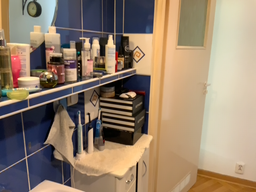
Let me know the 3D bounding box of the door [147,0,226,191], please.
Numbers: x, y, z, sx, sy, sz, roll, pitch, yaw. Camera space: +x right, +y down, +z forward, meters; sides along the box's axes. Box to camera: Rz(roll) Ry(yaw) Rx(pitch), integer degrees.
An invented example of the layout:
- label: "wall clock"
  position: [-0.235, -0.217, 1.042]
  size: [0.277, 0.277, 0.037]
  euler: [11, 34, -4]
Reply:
- label: "door"
  position: [0.530, 0.030, 1.850]
  size: [0.090, 1.990, 0.980]
  euler: [13, 18, 40]
